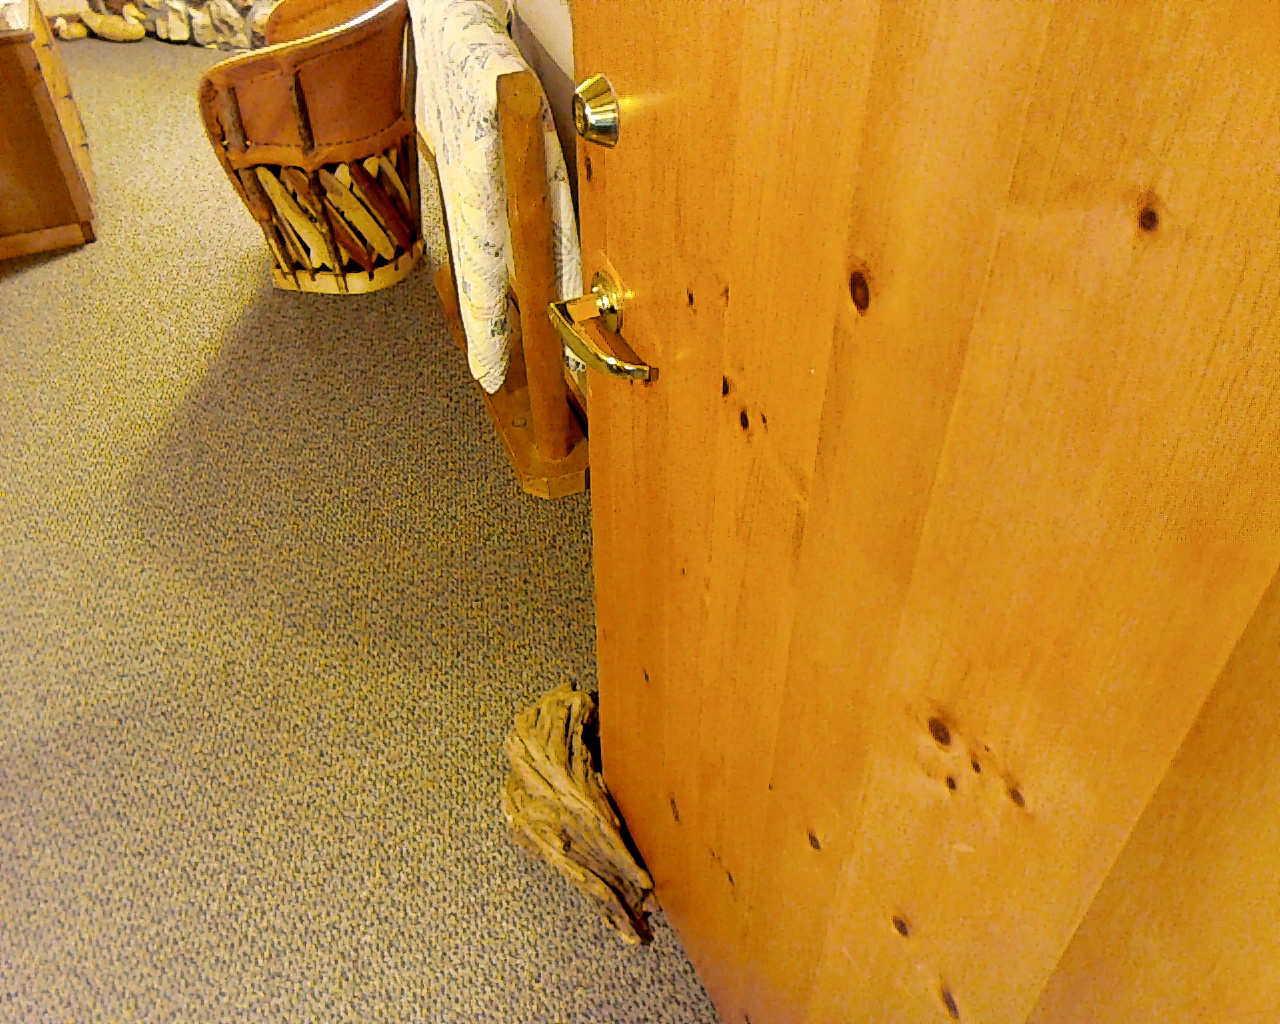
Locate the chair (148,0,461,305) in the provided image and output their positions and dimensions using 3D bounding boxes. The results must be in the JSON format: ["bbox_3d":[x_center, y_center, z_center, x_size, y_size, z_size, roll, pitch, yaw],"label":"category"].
[{"bbox_3d":[-0.870,-1.080,3.010,0.530,0.730,0.650,3,42,4],"label":"chair"}]

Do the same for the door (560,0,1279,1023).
[{"bbox_3d":[0.130,0.020,0.850,0.040,2.000,0.850,-17,45,-19],"label":"door"}]
